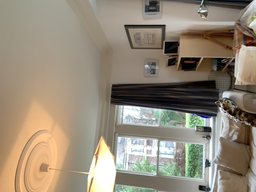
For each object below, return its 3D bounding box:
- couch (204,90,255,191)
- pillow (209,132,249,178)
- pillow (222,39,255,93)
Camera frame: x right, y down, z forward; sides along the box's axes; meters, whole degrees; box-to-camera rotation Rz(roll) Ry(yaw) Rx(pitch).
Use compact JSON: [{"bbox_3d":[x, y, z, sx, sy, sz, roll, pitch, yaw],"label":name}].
[{"bbox_3d":[1.680,1.050,3.090,1.040,0.810,2.200,-22,-65,-80],"label":"couch"},{"bbox_3d":[1.530,0.900,3.210,0.200,0.470,0.620,-95,-12,-62],"label":"pillow"},{"bbox_3d":[1.540,-0.370,2.610,0.470,0.460,0.230,49,180,-3],"label":"pillow"}]
